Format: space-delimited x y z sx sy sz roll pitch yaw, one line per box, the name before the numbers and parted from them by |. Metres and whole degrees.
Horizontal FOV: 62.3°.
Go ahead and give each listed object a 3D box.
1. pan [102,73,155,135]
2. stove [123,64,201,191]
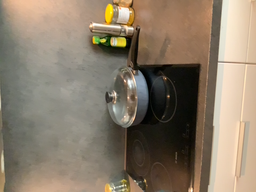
pan | -0.010 0.020 0.990 0.260 0.140 0.240 -162 72 -63
stove | 0.100 0.160 0.920 0.520 0.010 0.590 -163 73 -64
